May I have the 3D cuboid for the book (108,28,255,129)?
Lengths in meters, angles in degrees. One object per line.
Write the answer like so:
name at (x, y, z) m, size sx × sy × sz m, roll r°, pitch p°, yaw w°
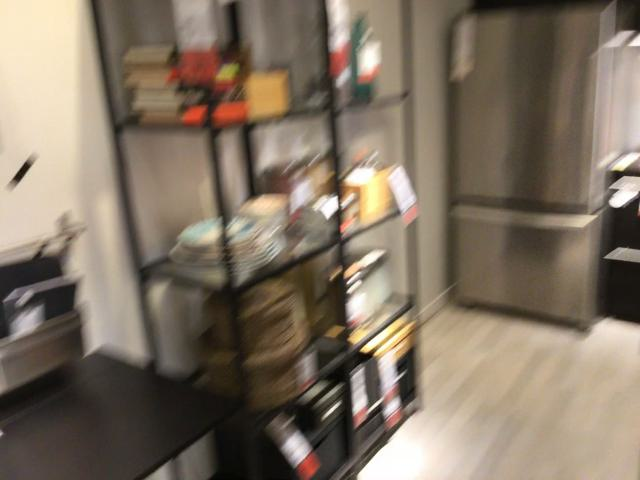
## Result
book at (-0.350, -0.420, 1.500) m, size 0.210 × 0.220 × 0.270 m, roll 8°, pitch 22°, yaw 36°

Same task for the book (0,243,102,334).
book at (-0.620, 0.100, 1.280) m, size 0.160 × 0.120 × 0.180 m, roll 8°, pitch 22°, yaw 36°

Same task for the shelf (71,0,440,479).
shelf at (-0.060, -0.070, 1.890) m, size 0.420 × 1.890 × 1.070 m, roll 8°, pitch 22°, yaw 36°
